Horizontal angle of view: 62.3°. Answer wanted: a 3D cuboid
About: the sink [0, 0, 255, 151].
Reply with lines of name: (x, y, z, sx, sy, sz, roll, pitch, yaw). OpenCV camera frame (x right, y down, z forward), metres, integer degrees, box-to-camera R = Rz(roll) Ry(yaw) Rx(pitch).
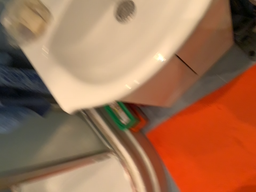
sink: (-0.020, -0.220, 0.520, 0.540, 0.190, 0.420, -48, 67, 15)

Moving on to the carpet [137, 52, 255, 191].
carpet: (0.570, 0.230, 1.030, 0.920, 0.040, 0.670, -38, 70, 19)
